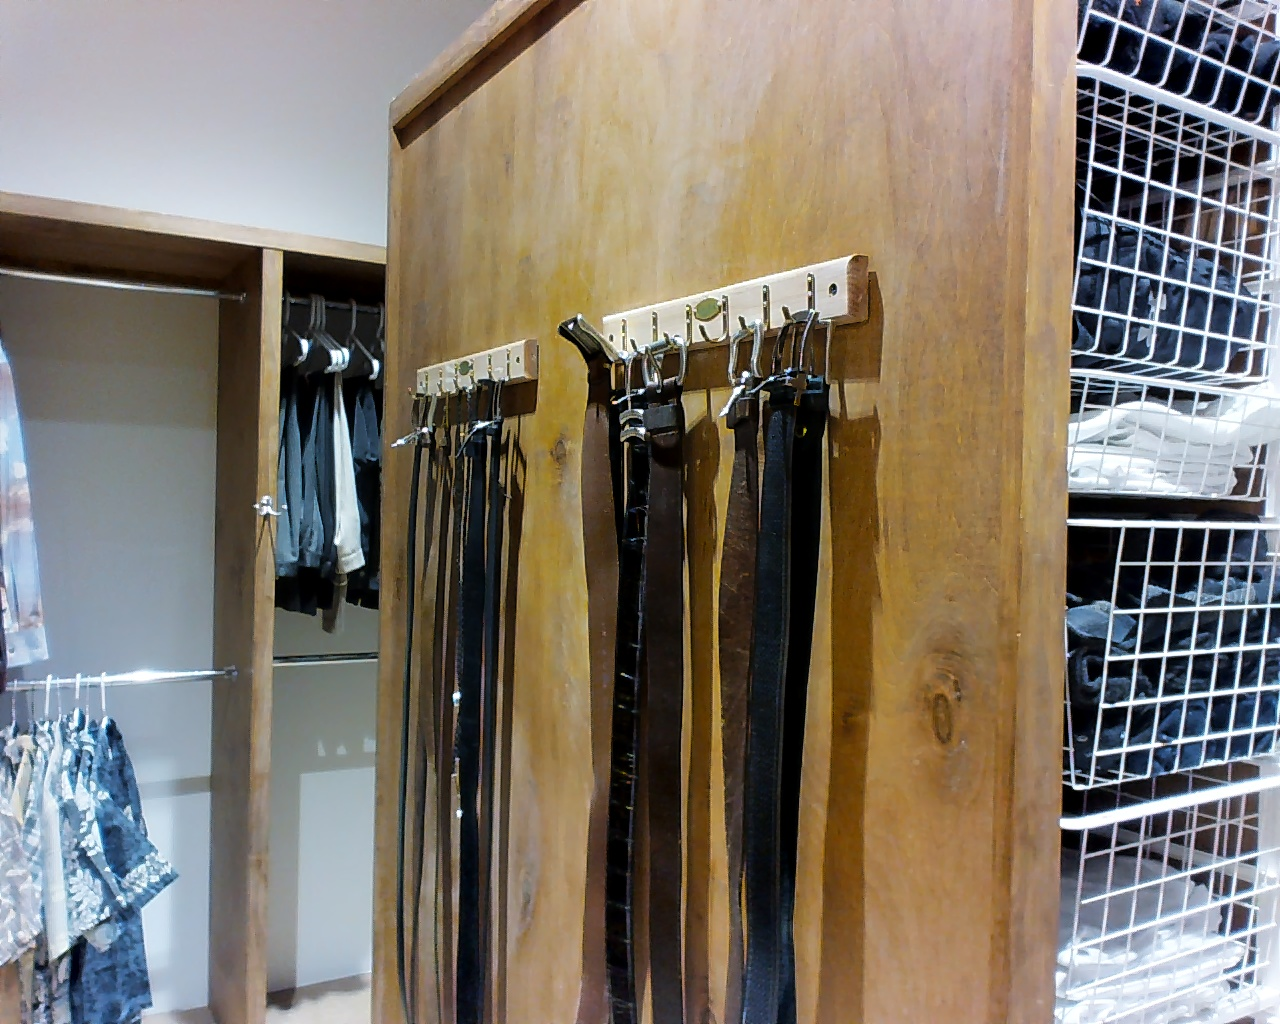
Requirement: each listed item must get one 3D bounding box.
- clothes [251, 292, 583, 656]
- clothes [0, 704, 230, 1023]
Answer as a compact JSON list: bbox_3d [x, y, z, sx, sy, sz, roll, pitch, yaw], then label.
[{"bbox_3d":[-0.610,-0.090,2.960,0.810,0.880,0.380,1,0,-31],"label":"clothes"},{"bbox_3d":[-1.380,0.940,2.330,0.830,0.900,0.470,1,0,-32],"label":"clothes"}]
